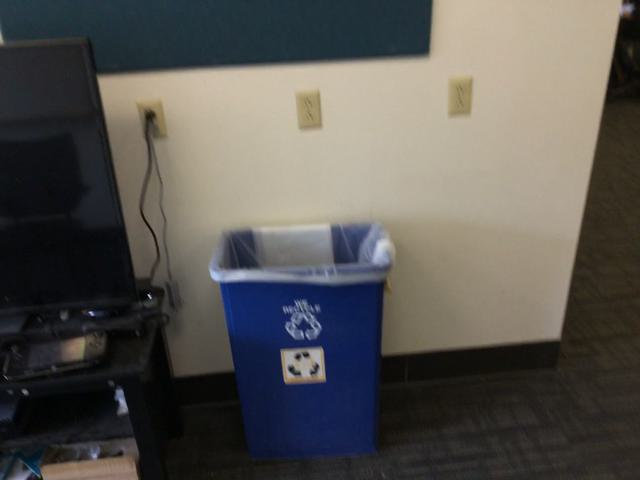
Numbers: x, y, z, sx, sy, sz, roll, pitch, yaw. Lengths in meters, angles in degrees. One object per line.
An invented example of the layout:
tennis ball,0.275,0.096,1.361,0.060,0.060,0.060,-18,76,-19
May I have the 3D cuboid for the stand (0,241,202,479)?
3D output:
stand,-1.140,0.540,1.620,1.450,0.720,0.510,-8,27,-4
